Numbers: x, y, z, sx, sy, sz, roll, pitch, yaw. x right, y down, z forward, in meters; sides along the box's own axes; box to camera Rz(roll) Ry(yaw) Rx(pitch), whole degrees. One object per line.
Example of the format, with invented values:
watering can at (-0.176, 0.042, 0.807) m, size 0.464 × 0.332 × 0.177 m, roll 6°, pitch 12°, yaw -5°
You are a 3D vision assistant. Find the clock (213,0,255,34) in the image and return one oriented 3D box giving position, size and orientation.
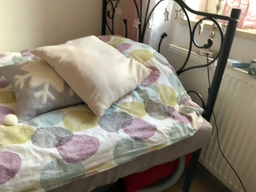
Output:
clock at (0.600, -0.460, 1.100) m, size 0.150 × 0.230 × 0.200 m, roll -6°, pitch 28°, yaw -23°

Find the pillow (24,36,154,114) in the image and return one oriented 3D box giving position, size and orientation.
pillow at (-0.170, -0.140, 1.000) m, size 0.380 × 0.180 × 0.440 m, roll 24°, pitch 31°, yaw 33°
